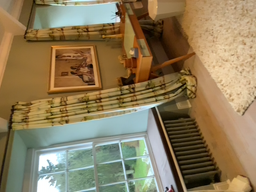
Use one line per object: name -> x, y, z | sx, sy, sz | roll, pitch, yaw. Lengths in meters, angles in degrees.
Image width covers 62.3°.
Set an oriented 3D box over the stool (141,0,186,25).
stool -> 0.470, -1.250, 2.890 | 0.360, 0.460, 0.380 | 95, 164, -49
